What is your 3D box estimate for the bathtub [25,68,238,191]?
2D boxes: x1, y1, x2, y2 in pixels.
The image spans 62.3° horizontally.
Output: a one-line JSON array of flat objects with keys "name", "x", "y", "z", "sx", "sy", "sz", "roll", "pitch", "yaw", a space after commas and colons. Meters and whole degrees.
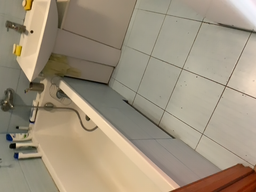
[{"name": "bathtub", "x": -0.180, "y": 0.400, "z": 1.630, "sx": 1.580, "sy": 0.580, "sz": 0.690, "roll": 32, "pitch": 109, "yaw": 42}]
